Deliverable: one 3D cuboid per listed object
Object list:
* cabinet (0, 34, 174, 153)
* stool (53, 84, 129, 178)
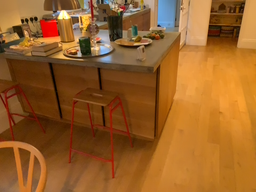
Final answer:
[{"bbox_3d":[-0.530,-0.120,2.350,1.910,0.910,0.580,8,29,18],"label":"cabinet"},{"bbox_3d":[-0.280,0.290,1.820,0.500,0.660,0.310,8,29,18],"label":"stool"}]
